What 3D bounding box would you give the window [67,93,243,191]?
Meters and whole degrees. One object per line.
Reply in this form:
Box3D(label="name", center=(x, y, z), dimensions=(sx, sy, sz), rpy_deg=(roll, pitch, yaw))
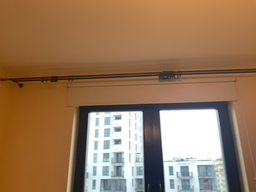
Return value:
Box3D(label="window", center=(0.210, 0.720, 1.850), dimensions=(1.430, 1.500, 0.180), rpy_deg=(-1, -20, 4))
